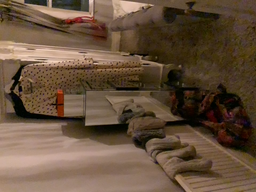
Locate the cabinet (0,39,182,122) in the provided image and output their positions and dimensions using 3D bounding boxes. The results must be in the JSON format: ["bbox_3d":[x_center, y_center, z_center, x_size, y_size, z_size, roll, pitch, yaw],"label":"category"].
[{"bbox_3d":[-0.870,-0.440,3.380,2.640,2.190,0.740,-145,57,-65],"label":"cabinet"}]
